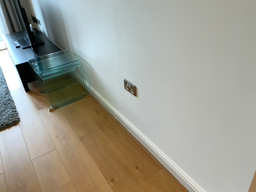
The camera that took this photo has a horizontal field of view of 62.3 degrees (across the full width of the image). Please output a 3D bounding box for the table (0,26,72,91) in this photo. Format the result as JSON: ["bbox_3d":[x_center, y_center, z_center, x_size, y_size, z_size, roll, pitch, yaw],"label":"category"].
[{"bbox_3d":[-1.390,-0.630,3.070,0.600,0.350,1.510,-22,37,-24],"label":"table"}]
